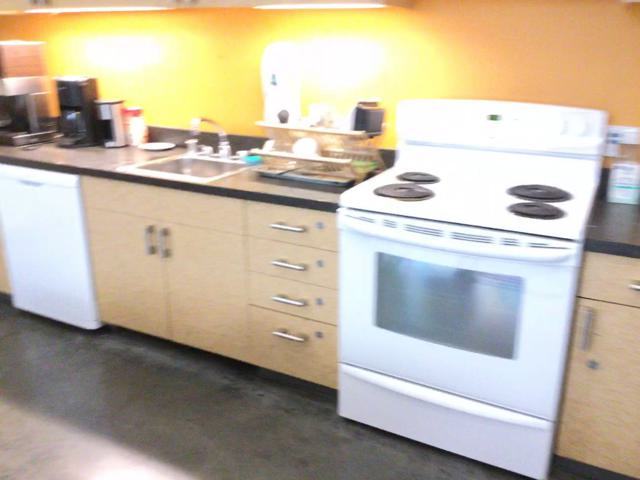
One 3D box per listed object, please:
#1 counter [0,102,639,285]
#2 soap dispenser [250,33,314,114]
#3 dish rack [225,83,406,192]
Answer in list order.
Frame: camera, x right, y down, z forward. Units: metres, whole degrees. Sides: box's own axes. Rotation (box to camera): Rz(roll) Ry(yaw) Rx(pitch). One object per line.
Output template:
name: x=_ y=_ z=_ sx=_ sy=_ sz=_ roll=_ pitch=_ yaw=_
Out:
counter: x=-0.160 y=-0.330 z=2.400 sx=3.250 sy=0.300 sz=0.750 roll=11 pitch=18 yaw=28
soap dispenser: x=-0.170 y=-0.740 z=2.580 sx=0.220 sy=0.330 sz=0.170 roll=11 pitch=18 yaw=28
dish rack: x=-0.020 y=-0.450 z=2.410 sx=0.600 sy=0.370 sz=0.440 roll=11 pitch=18 yaw=28
